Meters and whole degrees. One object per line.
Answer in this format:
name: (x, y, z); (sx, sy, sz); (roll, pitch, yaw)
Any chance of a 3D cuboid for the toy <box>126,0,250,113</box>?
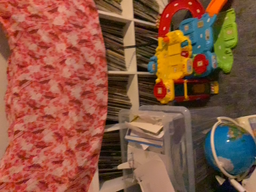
toy: (0.360, -0.280, 1.320); (0.520, 0.460, 0.700); (-3, 93, 52)
